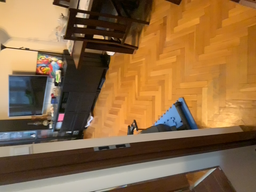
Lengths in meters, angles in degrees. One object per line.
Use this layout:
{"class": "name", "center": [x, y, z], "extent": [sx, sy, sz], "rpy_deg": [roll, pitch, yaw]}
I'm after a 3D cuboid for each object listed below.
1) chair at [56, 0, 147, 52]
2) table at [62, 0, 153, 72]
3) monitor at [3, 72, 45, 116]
{"class": "chair", "center": [-0.340, -0.900, 2.660], "extent": [0.460, 0.980, 0.380], "rpy_deg": [63, 141, 40]}
{"class": "table", "center": [-0.270, -1.270, 2.760], "extent": [1.690, 0.760, 0.880], "rpy_deg": [-64, 38, 37]}
{"class": "monitor", "center": [-1.950, -0.010, 3.990], "extent": [0.050, 0.640, 1.090], "rpy_deg": [64, 143, 36]}
